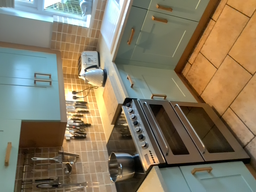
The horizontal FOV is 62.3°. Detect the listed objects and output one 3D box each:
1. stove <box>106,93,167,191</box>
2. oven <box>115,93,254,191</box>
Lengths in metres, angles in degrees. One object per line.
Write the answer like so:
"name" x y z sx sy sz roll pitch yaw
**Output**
"stove" 0.010 0.420 1.660 0.610 0.100 0.630 -113 35 -45
"oven" 0.410 0.440 1.830 0.610 0.780 0.630 -113 35 -45
